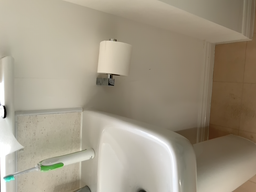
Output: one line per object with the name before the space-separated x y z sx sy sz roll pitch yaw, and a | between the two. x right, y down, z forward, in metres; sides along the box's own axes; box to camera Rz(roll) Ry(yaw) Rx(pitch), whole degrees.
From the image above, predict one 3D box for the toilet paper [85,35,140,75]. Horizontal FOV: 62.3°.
toilet paper | -0.050 -0.130 0.710 0.100 0.150 0.110 8 98 49
